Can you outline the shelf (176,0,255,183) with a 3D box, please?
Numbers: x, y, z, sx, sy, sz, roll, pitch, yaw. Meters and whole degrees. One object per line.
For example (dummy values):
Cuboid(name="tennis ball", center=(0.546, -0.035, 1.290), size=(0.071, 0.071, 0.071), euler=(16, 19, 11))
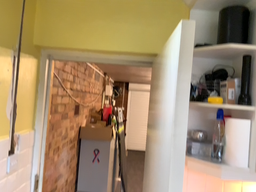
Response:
Cuboid(name="shelf", center=(0.490, -0.090, 1.170), size=(0.310, 1.000, 0.290), euler=(5, -1, 2))
